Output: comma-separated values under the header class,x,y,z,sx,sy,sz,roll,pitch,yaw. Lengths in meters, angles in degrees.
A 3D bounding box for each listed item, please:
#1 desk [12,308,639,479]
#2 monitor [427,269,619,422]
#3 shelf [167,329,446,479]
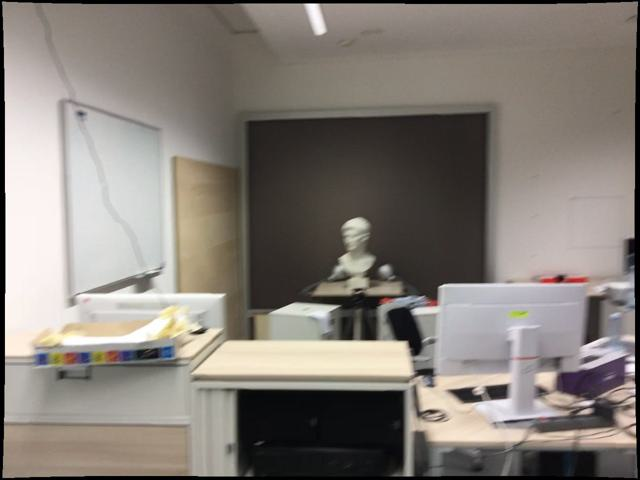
class,x,y,z,sx,sy,sz,roll,pitch,yaw
desk,0.669,0.931,2.850,3.507,0.821,1.630,-1,6,7
monitor,0.799,0.410,2.330,0.679,0.531,0.250,-2,6,-1
shelf,0.000,0.931,2.060,0.829,1.091,0.600,-1,6,7
